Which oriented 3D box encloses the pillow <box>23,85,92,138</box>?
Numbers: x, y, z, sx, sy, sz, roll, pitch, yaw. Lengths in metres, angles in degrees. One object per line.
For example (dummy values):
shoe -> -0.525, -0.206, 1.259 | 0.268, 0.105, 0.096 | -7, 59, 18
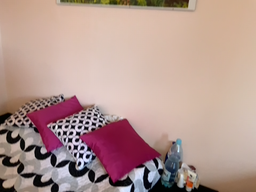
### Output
pillow -> -0.500, 0.090, 1.550 | 0.330, 0.220, 0.330 | 14, 20, 21
